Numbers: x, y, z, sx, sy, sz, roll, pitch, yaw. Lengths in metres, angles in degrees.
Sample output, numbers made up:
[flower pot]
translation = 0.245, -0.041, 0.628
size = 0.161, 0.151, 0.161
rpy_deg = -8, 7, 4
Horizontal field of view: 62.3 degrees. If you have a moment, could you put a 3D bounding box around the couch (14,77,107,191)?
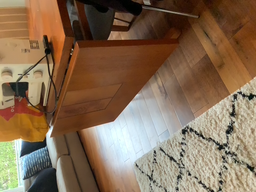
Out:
[couch]
translation = -1.210, 0.850, 3.310
size = 2.930, 0.810, 0.920
rpy_deg = 53, 136, 44
